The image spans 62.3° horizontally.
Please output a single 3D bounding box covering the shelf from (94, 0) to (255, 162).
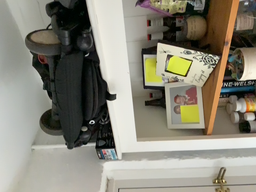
[{"bbox_3d":[0.560,-0.240,0.790,0.440,1.250,0.940,-89,-5,-50],"label":"shelf"}]
